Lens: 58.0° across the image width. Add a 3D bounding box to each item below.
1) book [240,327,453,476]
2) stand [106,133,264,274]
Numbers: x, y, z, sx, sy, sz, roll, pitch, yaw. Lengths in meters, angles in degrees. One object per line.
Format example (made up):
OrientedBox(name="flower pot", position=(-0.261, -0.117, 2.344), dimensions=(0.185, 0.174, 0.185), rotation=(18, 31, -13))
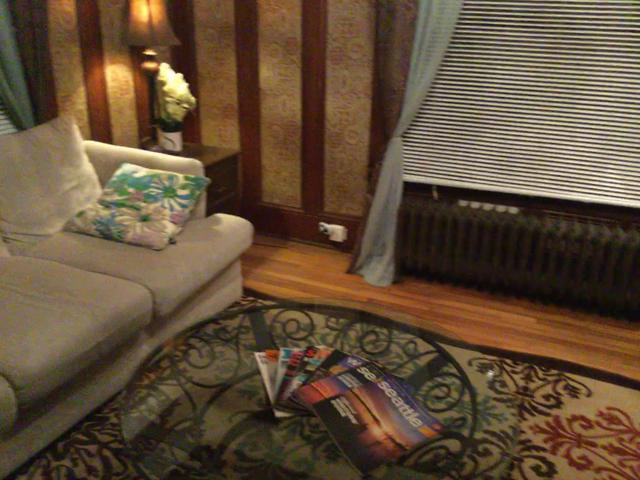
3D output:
OrientedBox(name="book", position=(0.050, 0.380, 1.480), dimensions=(0.320, 0.060, 0.470), rotation=(-13, 22, -34))
OrientedBox(name="stand", position=(-0.720, -0.240, 3.250), dimensions=(0.540, 0.600, 0.680), rotation=(7, 20, 20))
